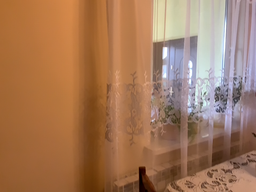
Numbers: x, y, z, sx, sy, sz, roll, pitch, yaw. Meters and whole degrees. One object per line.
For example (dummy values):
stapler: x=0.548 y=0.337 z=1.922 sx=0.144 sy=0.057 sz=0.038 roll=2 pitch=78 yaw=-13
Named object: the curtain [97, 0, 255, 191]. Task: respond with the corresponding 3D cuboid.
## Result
curtain: x=0.670 y=-0.120 z=1.710 sx=1.880 sy=2.730 sz=0.250 roll=-4 pitch=9 yaw=-33
